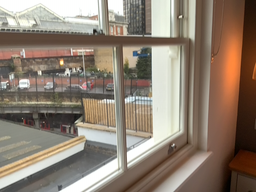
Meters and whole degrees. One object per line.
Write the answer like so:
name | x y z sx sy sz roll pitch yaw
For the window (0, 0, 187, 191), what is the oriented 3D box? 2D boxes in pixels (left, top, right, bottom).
window | -0.050 -0.210 0.790 0.040 1.140 1.050 9 16 42
